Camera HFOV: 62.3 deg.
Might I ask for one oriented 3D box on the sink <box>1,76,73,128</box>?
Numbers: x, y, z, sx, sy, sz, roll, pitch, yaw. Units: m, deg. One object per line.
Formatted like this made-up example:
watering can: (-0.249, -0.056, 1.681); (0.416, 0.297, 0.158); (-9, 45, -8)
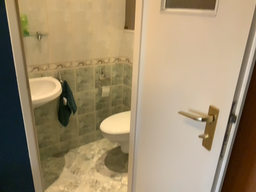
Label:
sink: (-0.710, 0.020, 1.650); (0.410, 0.190, 0.410); (-13, 27, -34)
